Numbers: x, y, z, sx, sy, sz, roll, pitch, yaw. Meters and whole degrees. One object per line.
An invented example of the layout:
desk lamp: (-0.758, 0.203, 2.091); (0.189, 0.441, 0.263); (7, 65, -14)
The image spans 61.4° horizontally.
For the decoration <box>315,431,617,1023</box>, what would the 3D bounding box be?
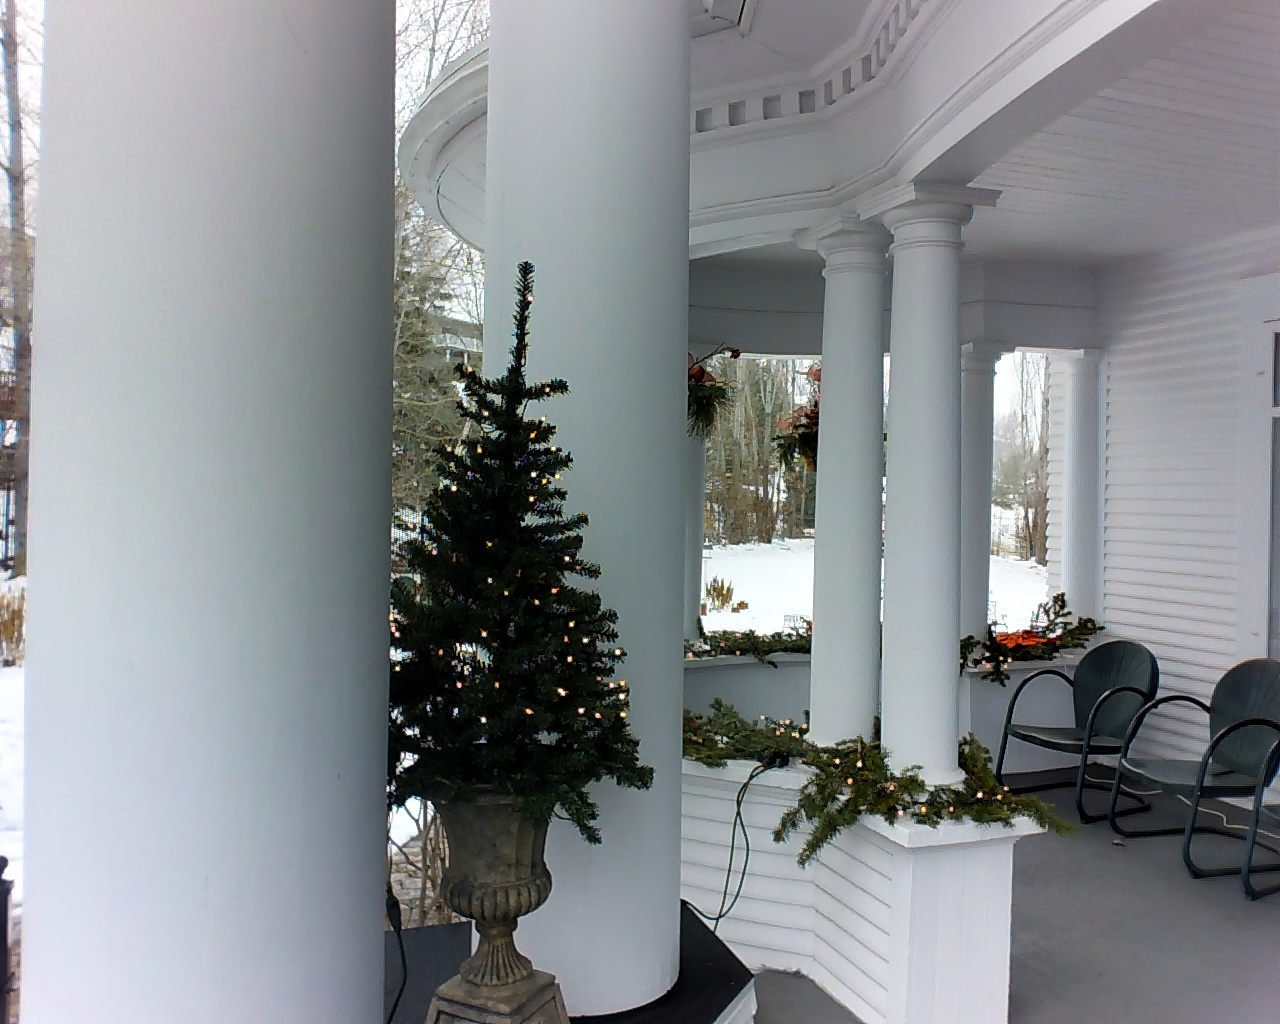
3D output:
decoration: (-0.350, 0.540, 2.270); (0.490, 1.381, 0.420); (0, 0, 18)

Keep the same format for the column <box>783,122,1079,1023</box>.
column: (0.830, 0.230, 3.170); (0.590, 2.471, 0.620); (0, 0, -20)

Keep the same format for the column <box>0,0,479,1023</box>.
column: (-0.720, -0.260, 1.750); (0.680, 2.951, 0.690); (0, 0, -33)

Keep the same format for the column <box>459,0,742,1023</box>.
column: (-0.130, -0.250, 2.820); (0.660, 2.951, 0.640); (0, 0, -8)

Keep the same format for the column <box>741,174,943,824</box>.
column: (0.680, -0.040, 3.620); (0.510, 1.981, 0.450); (0, 0, -43)
